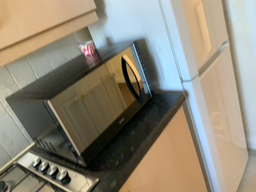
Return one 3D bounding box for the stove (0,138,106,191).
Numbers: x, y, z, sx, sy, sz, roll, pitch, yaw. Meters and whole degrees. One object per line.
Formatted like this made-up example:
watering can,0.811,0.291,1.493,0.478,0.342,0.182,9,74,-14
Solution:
stove,-0.460,0.390,0.680,0.560,0.040,0.600,2,33,42
